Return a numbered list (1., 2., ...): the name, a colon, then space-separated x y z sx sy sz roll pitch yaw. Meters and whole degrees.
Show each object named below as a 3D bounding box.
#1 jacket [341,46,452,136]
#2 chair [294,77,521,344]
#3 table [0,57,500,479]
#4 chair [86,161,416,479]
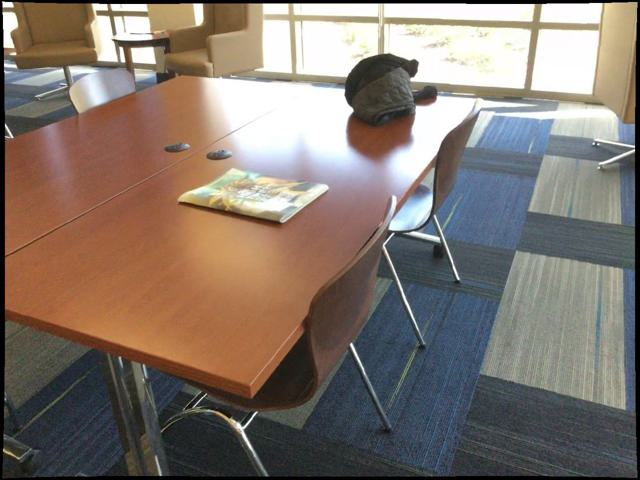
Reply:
1. jacket: 0.319 -0.612 2.300 0.279 0.200 0.530 11 32 22
2. chair: 0.339 -0.150 2.220 0.649 0.772 0.550 12 32 24
3. table: -0.389 -0.030 2.150 1.657 0.802 1.910 11 32 23
4. chair: -0.120 0.281 1.510 0.589 0.782 0.490 11 32 23
